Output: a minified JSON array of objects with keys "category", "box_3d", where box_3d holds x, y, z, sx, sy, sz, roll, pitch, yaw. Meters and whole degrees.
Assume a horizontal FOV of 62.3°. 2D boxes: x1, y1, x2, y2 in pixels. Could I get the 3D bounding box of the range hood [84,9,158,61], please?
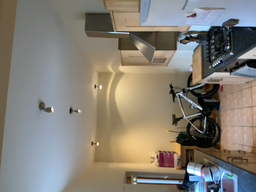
[{"category":"range hood","box_3d":[-0.070,-0.710,2.570,0.530,0.790,0.410,86,-174,-84]}]
